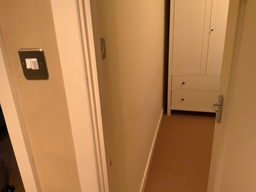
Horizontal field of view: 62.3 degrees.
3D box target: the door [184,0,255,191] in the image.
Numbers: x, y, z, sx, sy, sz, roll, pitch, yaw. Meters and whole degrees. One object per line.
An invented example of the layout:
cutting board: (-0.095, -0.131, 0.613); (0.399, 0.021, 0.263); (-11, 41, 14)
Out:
door: (0.570, 0.160, 1.170); (0.140, 1.940, 0.860); (-3, 22, -3)
